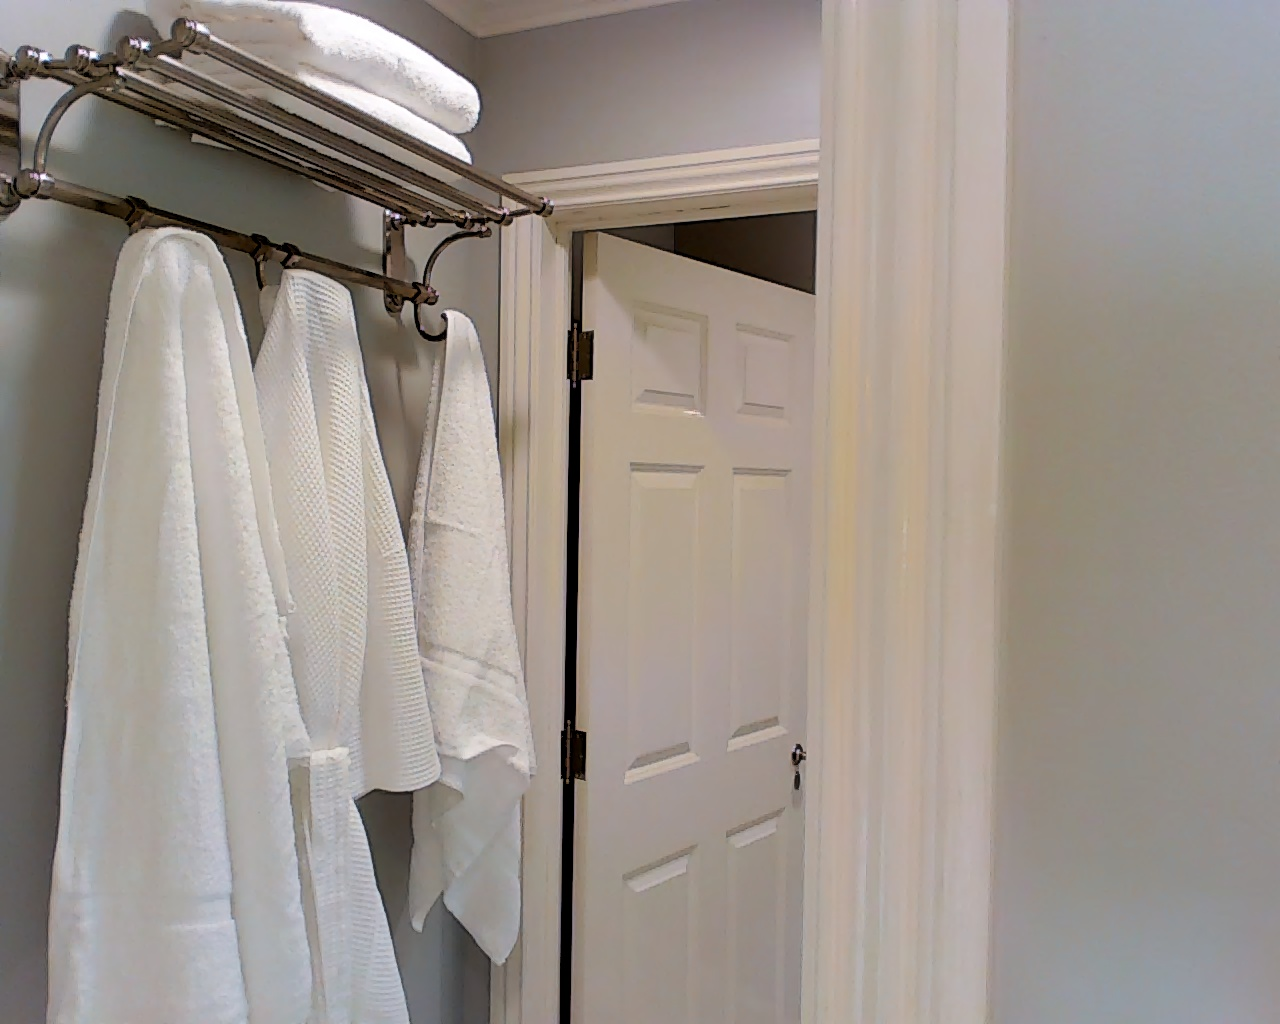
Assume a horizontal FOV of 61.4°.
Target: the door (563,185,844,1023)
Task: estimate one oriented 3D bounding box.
[{"bbox_3d":[0.170,0.460,2.300,0.040,2.090,0.900,2,2,40],"label":"door"}]
